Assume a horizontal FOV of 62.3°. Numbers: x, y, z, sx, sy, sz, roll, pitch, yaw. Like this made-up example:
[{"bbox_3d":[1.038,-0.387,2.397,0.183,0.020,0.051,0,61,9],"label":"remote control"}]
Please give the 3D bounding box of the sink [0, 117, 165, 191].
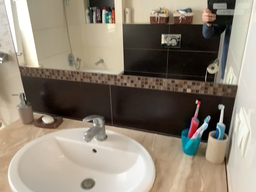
[{"bbox_3d":[-0.180,0.310,0.880,0.580,0.160,0.480,7,25,17],"label":"sink"}]
